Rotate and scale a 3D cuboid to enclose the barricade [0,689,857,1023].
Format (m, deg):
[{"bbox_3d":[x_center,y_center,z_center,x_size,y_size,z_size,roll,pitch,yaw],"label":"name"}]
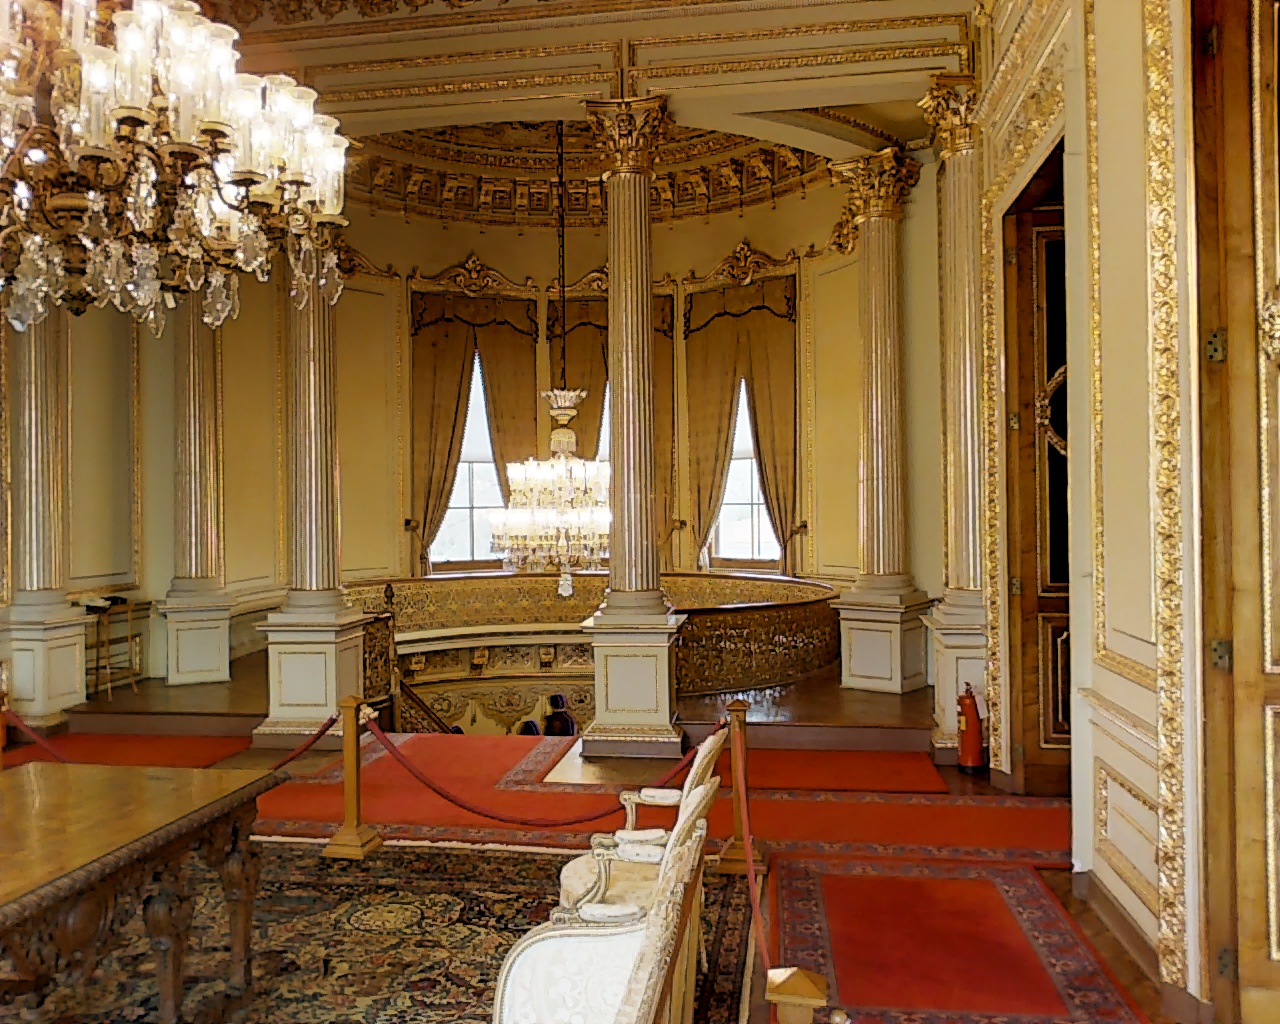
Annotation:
[{"bbox_3d":[-1.579,1.341,3.980,4.538,0.820,3.160,-1,0,9],"label":"barricade"}]

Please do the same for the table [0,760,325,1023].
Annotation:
[{"bbox_3d":[-1.749,1.301,2.820,1.020,0.830,1.960,-1,0,9],"label":"table"}]

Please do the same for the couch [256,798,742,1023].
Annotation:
[{"bbox_3d":[-0.160,1.241,2.170,0.650,0.950,1.350,-1,0,9],"label":"couch"}]
